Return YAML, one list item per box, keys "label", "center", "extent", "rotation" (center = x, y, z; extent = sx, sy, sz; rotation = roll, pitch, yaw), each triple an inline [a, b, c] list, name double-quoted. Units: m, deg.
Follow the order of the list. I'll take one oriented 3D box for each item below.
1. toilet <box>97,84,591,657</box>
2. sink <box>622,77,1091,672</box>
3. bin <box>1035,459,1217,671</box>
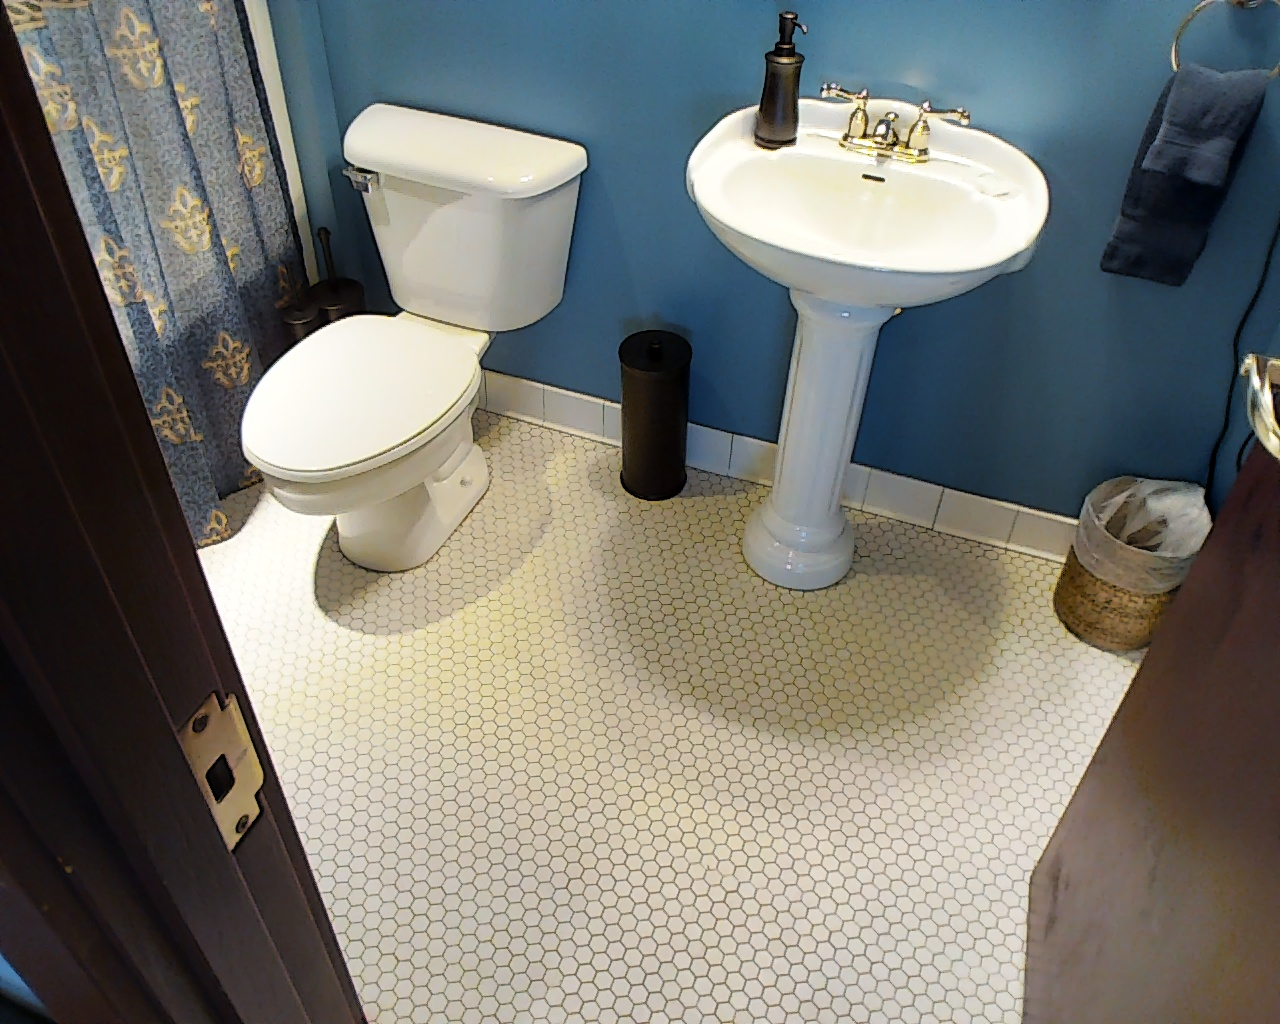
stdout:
- label: "toilet"
  center: [-0.470, -0.290, 2.070]
  extent: [0.500, 0.720, 0.730]
  rotation: [16, 45, 14]
- label: "sink"
  center: [0.340, -0.230, 1.920]
  extent: [0.610, 0.830, 0.440]
  rotation: [16, 45, 15]
- label: "bin"
  center: [0.920, 0.100, 2.050]
  extent: [0.230, 0.280, 0.220]
  rotation: [16, 45, 14]
